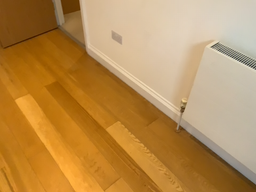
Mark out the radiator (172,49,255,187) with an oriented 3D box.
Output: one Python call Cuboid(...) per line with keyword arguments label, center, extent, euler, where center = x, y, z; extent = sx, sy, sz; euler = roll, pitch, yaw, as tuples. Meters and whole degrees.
Cuboid(label="radiator", center=(0.810, 0.300, 1.110), extent=(0.120, 0.600, 1.250), euler=(-33, 55, -30))
